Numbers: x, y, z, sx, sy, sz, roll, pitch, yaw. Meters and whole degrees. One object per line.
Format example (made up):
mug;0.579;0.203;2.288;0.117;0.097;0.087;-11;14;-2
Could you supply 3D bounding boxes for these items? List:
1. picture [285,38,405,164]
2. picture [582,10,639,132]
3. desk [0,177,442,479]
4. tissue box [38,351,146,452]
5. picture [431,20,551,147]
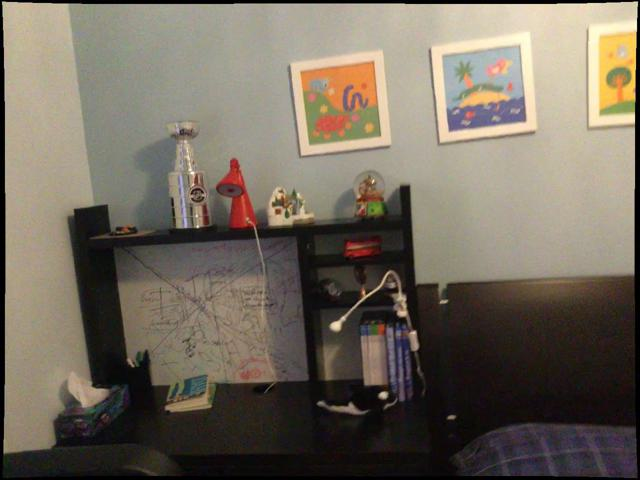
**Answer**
picture;0.080;-0.430;1.820;0.350;0.350;0.030;-4;10;8
picture;0.949;-0.501;1.700;0.330;0.330;0.030;-4;10;8
desk;-0.210;0.551;1.740;1.089;1.351;0.570;-4;10;8
tissue box;-0.679;0.480;1.760;0.160;0.180;0.300;-4;10;8
picture;0.519;-0.470;1.760;0.340;0.340;0.020;-4;10;8
